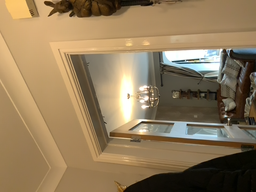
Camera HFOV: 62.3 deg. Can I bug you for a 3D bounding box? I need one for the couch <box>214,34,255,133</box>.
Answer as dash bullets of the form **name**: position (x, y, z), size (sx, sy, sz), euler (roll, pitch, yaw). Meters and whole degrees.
- **couch**: position (2.410, -0.250, 4.700), size (0.970, 0.730, 1.910), euler (-66, -27, -52)
